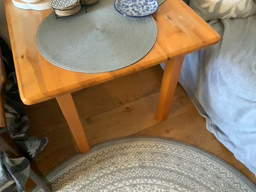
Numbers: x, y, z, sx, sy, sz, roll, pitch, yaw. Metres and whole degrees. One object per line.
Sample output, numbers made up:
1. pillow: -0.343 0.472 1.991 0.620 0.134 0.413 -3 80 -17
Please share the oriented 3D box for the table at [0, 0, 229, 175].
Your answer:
1. table: -0.100 -0.140 0.960 0.630 0.550 0.600 -21 57 -15
